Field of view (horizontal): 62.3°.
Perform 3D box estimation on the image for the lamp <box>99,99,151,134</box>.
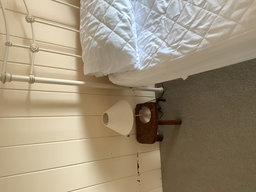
[{"bbox_3d":[-0.020,0.150,1.510,0.200,0.300,0.220,-11,79,48],"label":"lamp"}]
